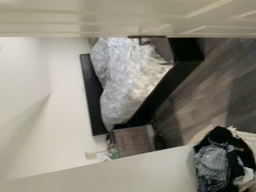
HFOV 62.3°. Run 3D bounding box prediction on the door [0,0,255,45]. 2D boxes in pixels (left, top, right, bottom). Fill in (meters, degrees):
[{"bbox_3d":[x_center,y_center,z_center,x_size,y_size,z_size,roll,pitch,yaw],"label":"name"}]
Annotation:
[{"bbox_3d":[0.170,-0.330,0.940,0.870,1.970,0.070,-167,73,-69],"label":"door"}]
